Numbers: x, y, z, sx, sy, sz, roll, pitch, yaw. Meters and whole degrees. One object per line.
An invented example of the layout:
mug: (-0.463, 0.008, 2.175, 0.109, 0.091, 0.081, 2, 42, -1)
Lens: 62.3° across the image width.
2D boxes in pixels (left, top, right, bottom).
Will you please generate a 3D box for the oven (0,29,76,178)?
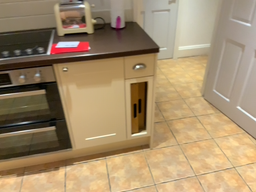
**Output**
oven: (-0.780, 0.050, 1.640, 0.600, 0.910, 0.600, -7, 34, -10)
